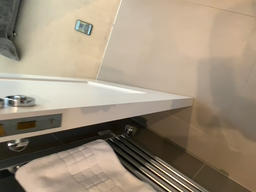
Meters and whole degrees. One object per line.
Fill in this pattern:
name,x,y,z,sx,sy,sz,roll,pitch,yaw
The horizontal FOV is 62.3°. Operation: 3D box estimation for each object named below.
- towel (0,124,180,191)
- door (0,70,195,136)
towel,-0.050,0.250,0.520,0.500,0.270,0.100,28,106,29
door,-0.510,-0.030,0.490,0.780,1.980,0.050,11,97,32
